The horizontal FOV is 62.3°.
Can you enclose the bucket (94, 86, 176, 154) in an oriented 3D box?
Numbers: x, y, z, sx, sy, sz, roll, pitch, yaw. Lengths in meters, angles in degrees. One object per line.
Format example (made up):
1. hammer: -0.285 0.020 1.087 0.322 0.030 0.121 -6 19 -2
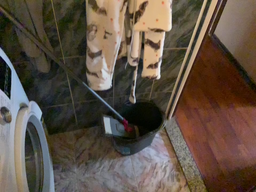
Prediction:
1. bucket: 0.030 0.160 1.430 0.460 0.320 0.220 -11 52 -14
